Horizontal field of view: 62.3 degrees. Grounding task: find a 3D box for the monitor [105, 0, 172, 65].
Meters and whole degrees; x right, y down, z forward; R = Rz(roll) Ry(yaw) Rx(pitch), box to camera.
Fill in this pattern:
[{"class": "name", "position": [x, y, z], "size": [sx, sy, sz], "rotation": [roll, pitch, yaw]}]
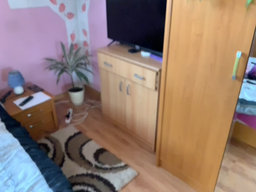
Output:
[{"class": "monitor", "position": [0.050, -0.680, 1.920], "size": [0.070, 0.610, 0.790], "rotation": [-21, 35, -34]}]
